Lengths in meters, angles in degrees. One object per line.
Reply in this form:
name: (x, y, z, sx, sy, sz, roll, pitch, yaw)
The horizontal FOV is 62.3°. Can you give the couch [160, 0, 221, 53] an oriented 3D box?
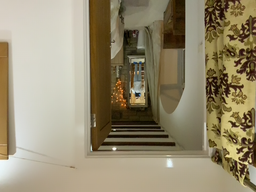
couch: (1.010, -1.260, 3.720, 0.730, 0.780, 1.200, -1, -178, 2)
